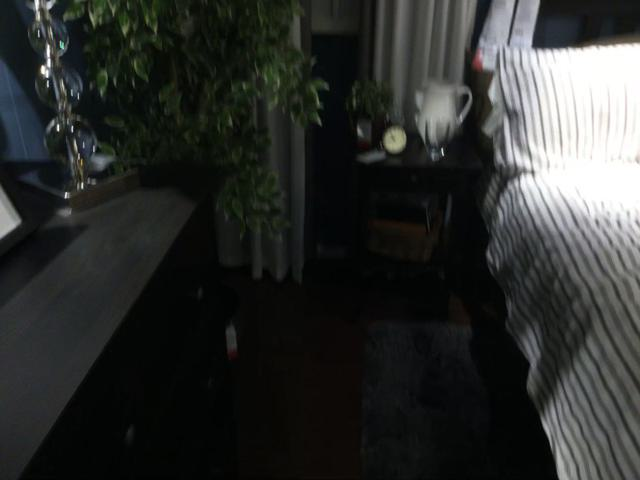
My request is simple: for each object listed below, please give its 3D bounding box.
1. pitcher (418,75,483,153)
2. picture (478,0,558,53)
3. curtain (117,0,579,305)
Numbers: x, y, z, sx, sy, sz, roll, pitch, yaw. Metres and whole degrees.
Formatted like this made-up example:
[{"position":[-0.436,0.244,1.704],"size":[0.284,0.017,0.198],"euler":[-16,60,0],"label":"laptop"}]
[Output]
[{"position":[0.460,-0.450,2.060],"size":[0.210,0.220,0.190],"euler":[1,29,12],"label":"pitcher"},{"position":[0.690,-0.770,2.040],"size":[0.240,0.170,0.170],"euler":[1,29,12],"label":"picture"},{"position":[0.070,-0.930,2.020],"size":[1.520,2.460,0.380],"euler":[1,29,12],"label":"curtain"}]
